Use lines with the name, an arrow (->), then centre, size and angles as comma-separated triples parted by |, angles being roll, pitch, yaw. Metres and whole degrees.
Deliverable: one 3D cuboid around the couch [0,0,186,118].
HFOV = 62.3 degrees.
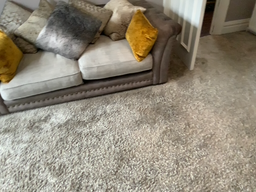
couch -> -0.640, -0.550, 2.450 | 2.200, 0.690, 1.090 | -12, 41, -12
